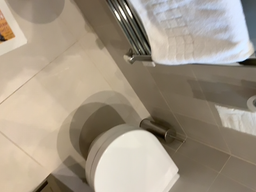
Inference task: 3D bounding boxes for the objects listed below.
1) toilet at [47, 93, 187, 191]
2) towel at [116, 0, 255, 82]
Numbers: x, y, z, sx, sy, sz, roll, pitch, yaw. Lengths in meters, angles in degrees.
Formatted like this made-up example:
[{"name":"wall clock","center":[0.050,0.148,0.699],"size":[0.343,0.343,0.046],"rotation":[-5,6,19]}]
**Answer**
[{"name":"toilet","center":[-0.060,0.340,1.170],"size":[0.390,0.460,0.520],"rotation":[-46,122,-19]},{"name":"towel","center":[0.130,-0.280,0.570],"size":[0.170,0.300,0.440],"rotation":[-43,121,-20]}]
